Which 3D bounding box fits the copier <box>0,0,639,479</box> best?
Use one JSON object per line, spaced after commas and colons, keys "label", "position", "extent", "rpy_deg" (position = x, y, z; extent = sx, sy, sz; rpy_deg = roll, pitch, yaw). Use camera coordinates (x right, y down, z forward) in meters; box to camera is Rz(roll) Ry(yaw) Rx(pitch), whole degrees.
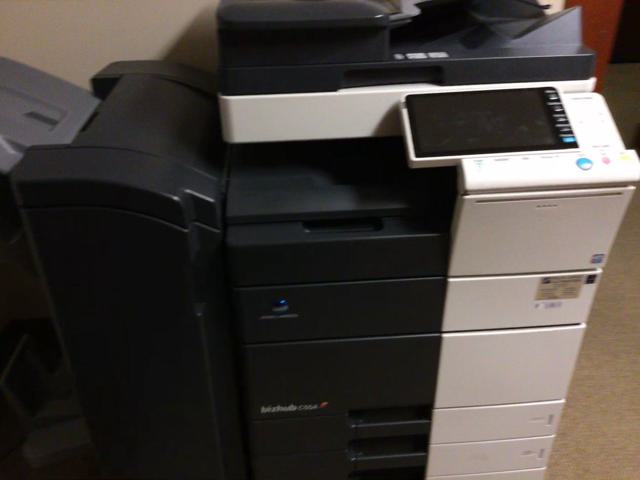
{"label": "copier", "position": [-0.080, 0.050, 1.260], "extent": [1.120, 1.150, 0.650], "rpy_deg": [-4, 33, -1]}
